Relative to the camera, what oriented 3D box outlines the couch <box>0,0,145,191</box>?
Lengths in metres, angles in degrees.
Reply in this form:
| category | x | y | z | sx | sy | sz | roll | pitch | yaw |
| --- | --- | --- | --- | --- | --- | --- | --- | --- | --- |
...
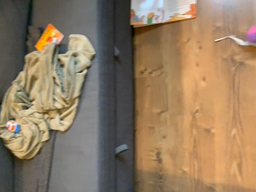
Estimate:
| category | x | y | z | sx | sy | sz | roll | pitch | yaw |
| --- | --- | --- | --- | --- | --- | --- | --- | --- | --- |
| couch | -0.540 | 0.300 | 1.180 | 0.940 | 0.910 | 2.370 | -3 | 86 | 33 |

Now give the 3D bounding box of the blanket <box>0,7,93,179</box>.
| category | x | y | z | sx | sy | sz | roll | pitch | yaw |
| --- | --- | --- | --- | --- | --- | --- | --- | --- | --- |
| blanket | -0.450 | -0.020 | 1.120 | 0.520 | 0.160 | 0.740 | 1 | 88 | 33 |
